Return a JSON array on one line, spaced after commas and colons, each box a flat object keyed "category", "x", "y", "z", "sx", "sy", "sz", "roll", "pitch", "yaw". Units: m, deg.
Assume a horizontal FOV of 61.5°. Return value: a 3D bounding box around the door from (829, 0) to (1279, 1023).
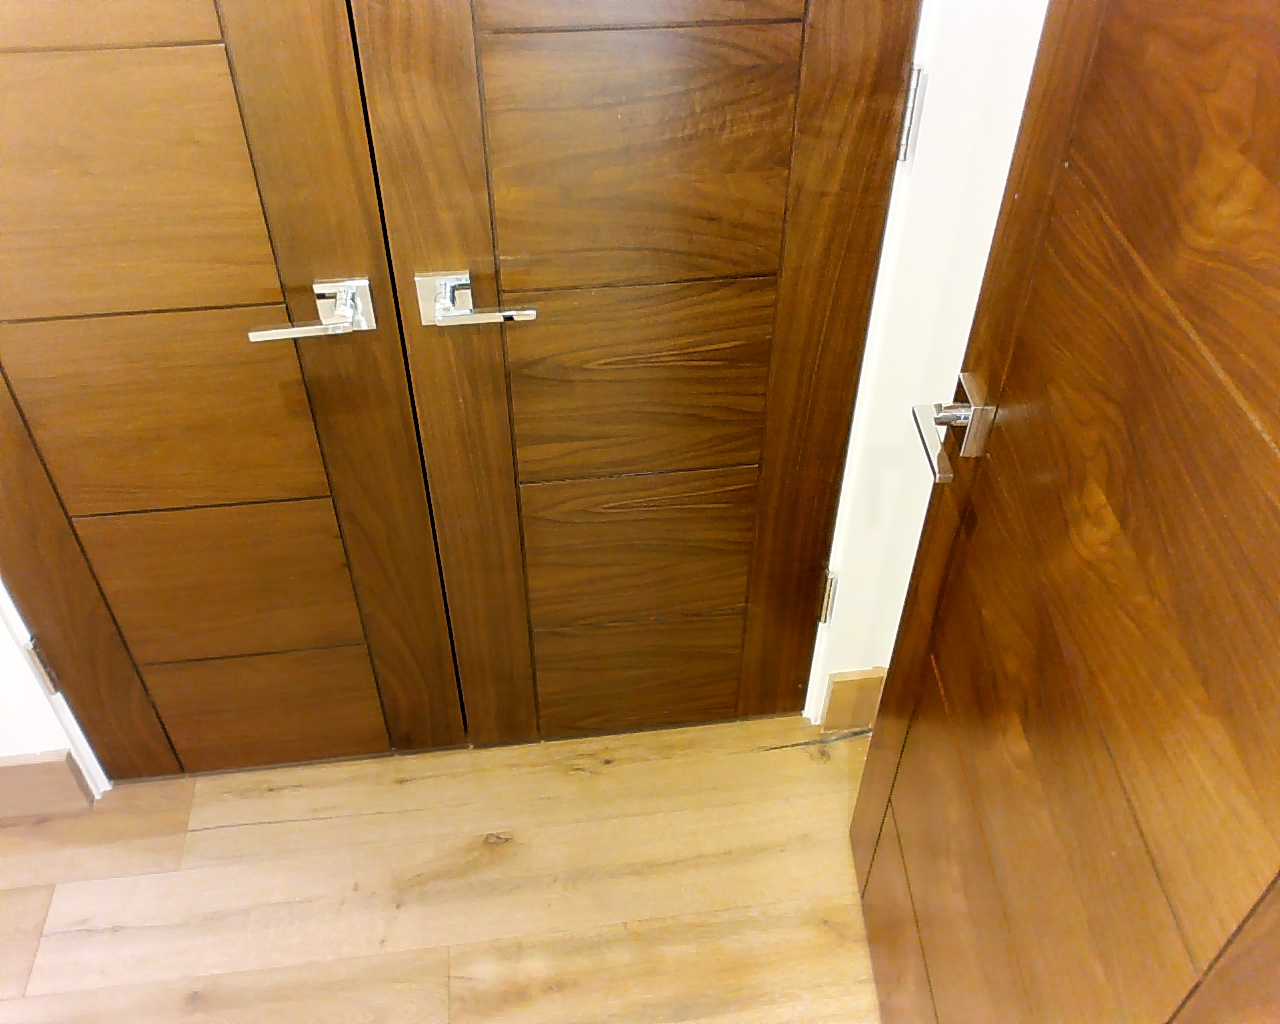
[{"category": "door", "x": 0.350, "y": 0.000, "z": 0.780, "sx": 0.040, "sy": 2.140, "sz": 0.900, "roll": 0, "pitch": 42, "yaw": 0}]
